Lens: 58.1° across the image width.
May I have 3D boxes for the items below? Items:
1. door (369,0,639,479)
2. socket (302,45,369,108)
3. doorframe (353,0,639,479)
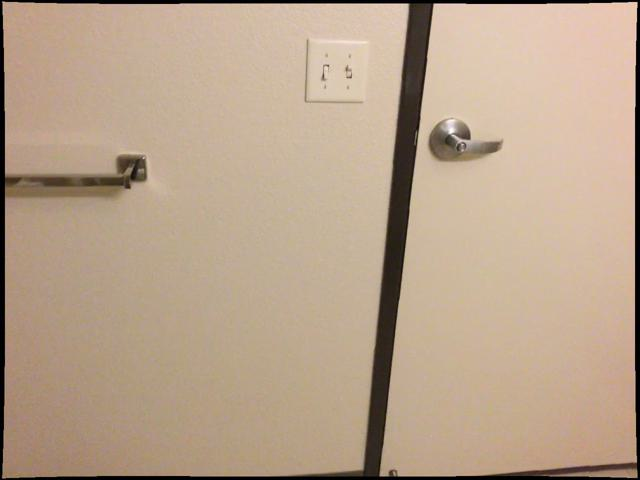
[{"bbox_3d":[0.688,-0.140,1.350,1.017,1.904,0.080,-2,25,-9],"label":"door"},{"bbox_3d":[0.030,-0.331,1.170,0.130,0.120,0.020,-2,25,-9],"label":"socket"},{"bbox_3d":[0.678,-0.170,1.350,1.097,1.964,0.050,-2,25,-9],"label":"doorframe"}]
